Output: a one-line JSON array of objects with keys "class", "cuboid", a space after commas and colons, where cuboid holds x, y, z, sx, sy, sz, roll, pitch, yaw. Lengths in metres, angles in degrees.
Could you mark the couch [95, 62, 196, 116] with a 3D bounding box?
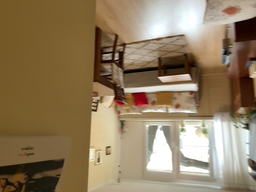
[{"class": "couch", "cuboid": [0.430, -0.070, 4.780, 2.040, 0.910, 1.000, -3, 169, 20]}]
